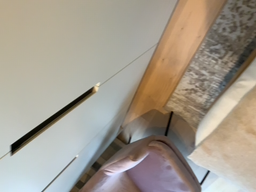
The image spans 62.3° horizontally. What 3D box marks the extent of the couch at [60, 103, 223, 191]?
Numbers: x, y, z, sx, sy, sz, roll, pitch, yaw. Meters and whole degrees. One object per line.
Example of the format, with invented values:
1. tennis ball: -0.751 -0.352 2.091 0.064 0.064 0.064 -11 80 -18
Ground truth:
1. couch: 0.150 0.640 1.600 0.720 0.820 0.680 -26 102 39
